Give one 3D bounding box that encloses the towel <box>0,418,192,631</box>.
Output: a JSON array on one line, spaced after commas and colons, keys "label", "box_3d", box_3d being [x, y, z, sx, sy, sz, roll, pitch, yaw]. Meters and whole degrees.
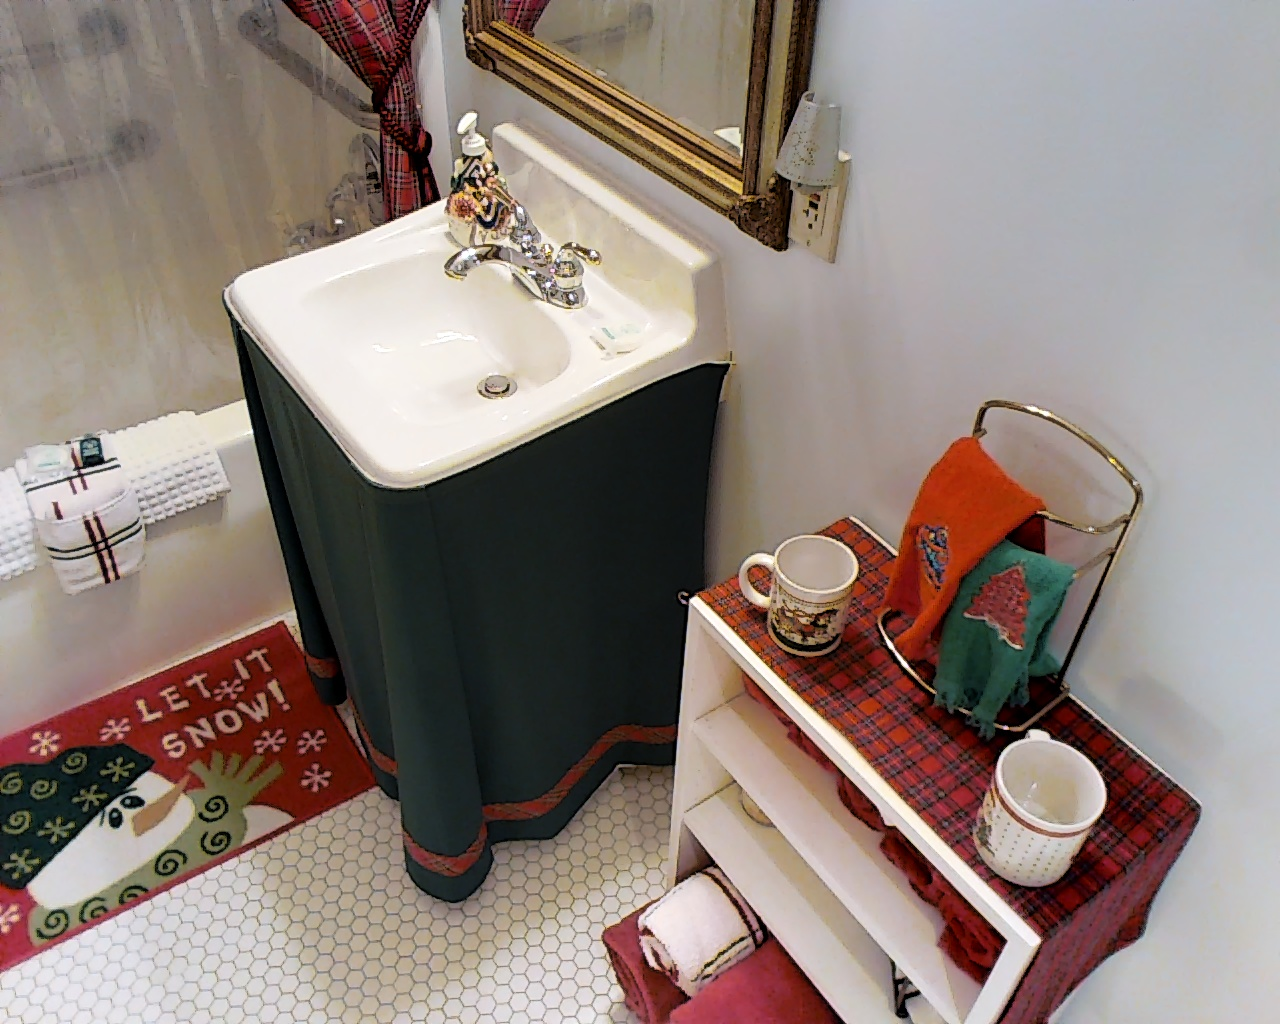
[{"label": "towel", "box_3d": [-0.890, 0.020, 1.770, 0.190, 0.250, 0.170, -23, 48, -25]}]
